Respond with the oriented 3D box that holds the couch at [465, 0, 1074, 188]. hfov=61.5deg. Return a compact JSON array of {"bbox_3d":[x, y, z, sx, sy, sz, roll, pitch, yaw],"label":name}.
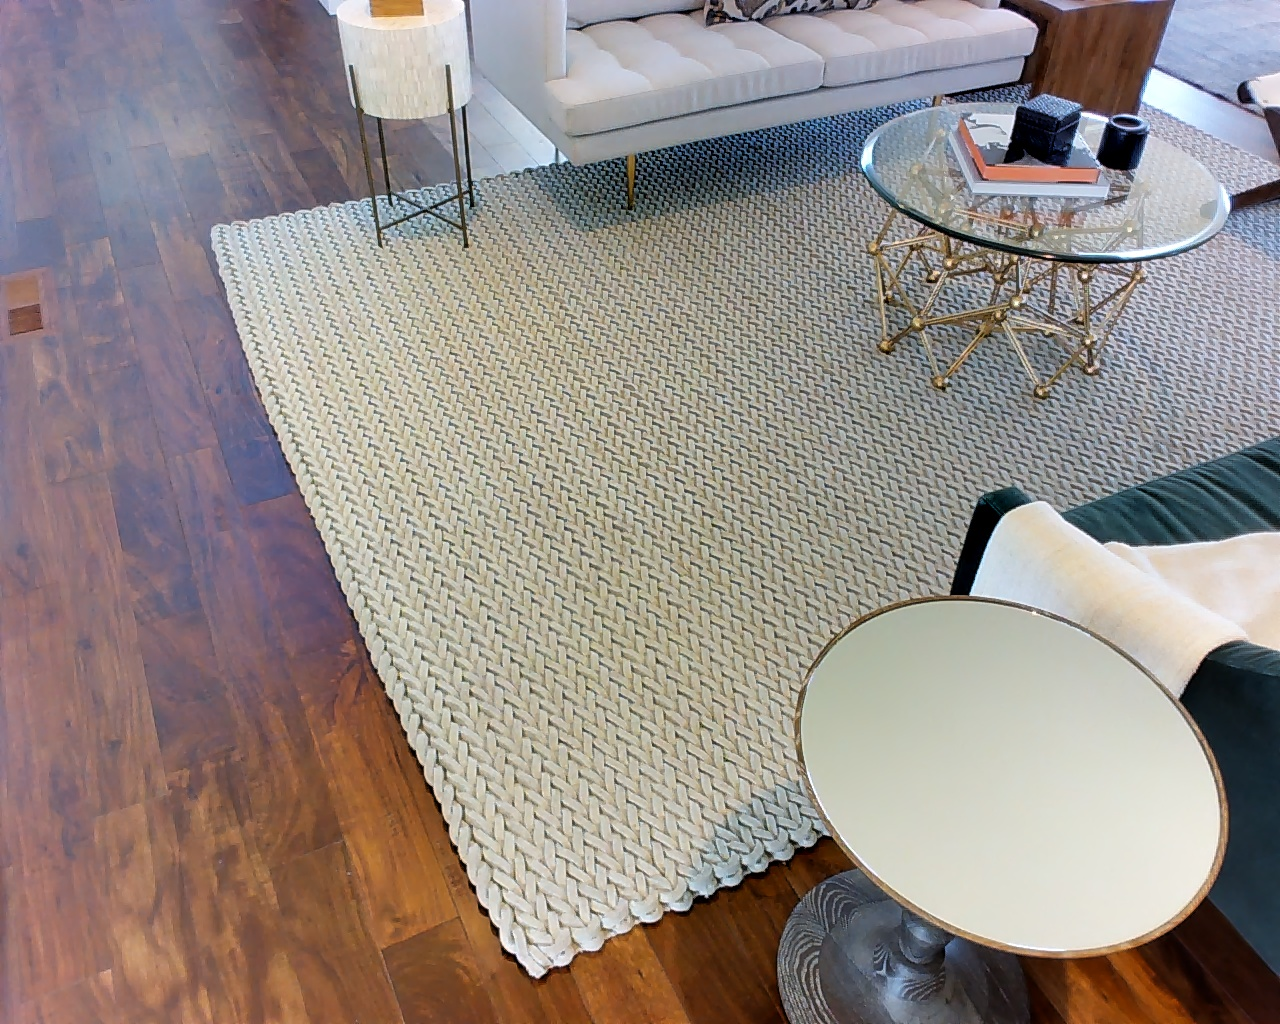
[{"bbox_3d":[0.400,-1.620,3.390,1.700,0.570,0.880,-17,45,-19],"label":"couch"}]
